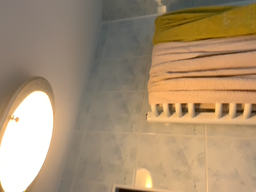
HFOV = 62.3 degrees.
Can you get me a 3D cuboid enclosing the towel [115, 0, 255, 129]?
[{"bbox_3d":[0.490,-0.220,0.800,0.280,0.930,0.620,65,-151,-50],"label":"towel"}]
